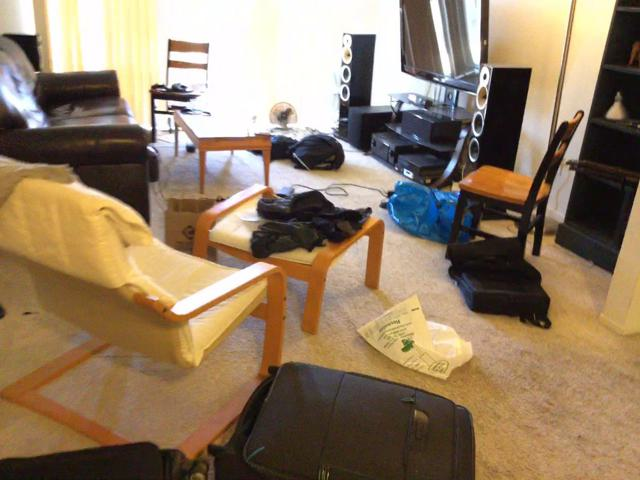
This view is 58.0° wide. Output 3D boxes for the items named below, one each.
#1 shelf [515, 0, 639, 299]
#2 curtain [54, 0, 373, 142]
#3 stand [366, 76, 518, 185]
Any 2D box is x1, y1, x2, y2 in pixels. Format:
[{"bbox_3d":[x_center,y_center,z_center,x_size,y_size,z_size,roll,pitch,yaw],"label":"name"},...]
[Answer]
[{"bbox_3d":[1.600,-0.650,2.690,0.340,1.680,0.830,8,18,-25],"label":"shelf"},{"bbox_3d":[-0.830,-2.370,5.180,2.760,2.660,0.320,2,20,-23],"label":"curtain"},{"bbox_3d":[0.910,-0.910,4.650,0.560,0.620,1.210,-2,22,-21],"label":"stand"}]
